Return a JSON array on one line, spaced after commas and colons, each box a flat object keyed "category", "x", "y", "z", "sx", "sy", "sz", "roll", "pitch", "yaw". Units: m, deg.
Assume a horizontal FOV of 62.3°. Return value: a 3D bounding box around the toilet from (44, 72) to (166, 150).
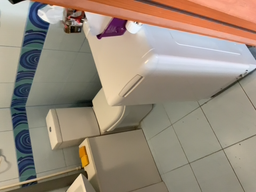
[{"category": "toilet", "x": -0.230, "y": 0.130, "z": 1.950, "sx": 0.670, "sy": 0.840, "sz": 0.370, "roll": -45, "pitch": 58, "yaw": 46}]
